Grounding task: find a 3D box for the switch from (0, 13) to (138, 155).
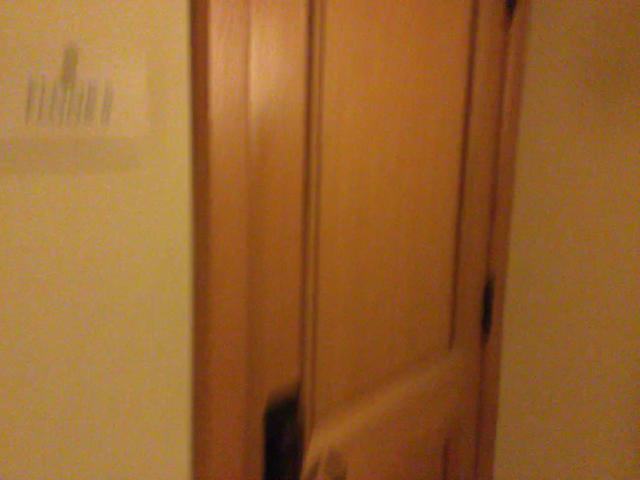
[{"bbox_3d":[-0.260,-0.150,0.580,0.020,0.080,0.140,8,-12,41],"label":"switch"}]
